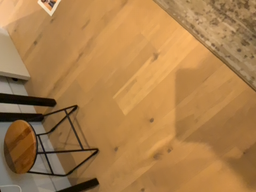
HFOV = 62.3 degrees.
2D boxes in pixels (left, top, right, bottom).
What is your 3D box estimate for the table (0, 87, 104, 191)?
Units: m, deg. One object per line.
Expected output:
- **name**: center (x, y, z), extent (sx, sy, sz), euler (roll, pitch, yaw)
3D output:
- **table**: center (-0.690, 0.340, 1.380), extent (0.260, 0.810, 0.830), euler (-44, 65, 20)
